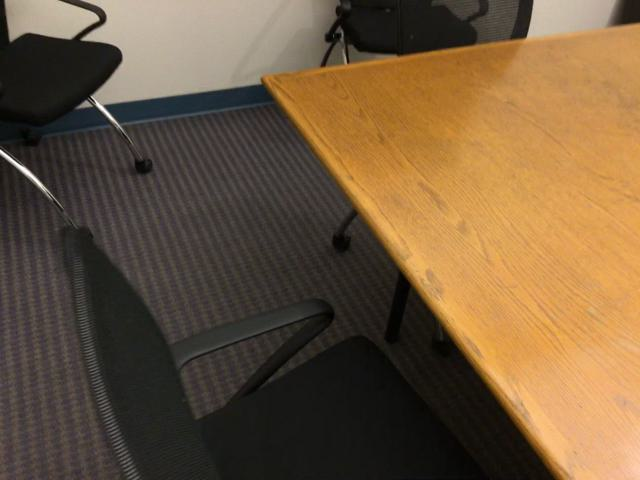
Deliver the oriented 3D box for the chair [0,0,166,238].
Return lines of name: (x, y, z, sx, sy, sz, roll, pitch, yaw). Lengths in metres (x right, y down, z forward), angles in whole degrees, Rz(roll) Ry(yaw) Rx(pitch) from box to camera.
chair: (-0.940, -0.580, 1.750, 0.630, 0.910, 0.550, 11, 44, 9)
